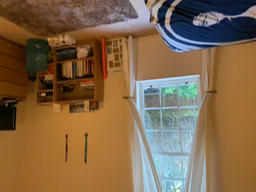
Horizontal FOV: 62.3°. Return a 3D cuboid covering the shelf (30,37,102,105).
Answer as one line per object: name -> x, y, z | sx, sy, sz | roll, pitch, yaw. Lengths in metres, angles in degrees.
shelf -> -1.140, -0.400, 3.870 | 1.360, 1.050, 0.320 | -4, 172, 23
